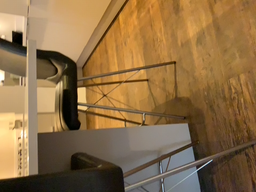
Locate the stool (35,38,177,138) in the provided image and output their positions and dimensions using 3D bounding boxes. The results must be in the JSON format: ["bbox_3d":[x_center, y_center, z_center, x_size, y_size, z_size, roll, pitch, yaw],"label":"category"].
[{"bbox_3d":[-0.190,-0.010,1.510,0.550,0.820,0.480,-31,63,59],"label":"stool"}]
